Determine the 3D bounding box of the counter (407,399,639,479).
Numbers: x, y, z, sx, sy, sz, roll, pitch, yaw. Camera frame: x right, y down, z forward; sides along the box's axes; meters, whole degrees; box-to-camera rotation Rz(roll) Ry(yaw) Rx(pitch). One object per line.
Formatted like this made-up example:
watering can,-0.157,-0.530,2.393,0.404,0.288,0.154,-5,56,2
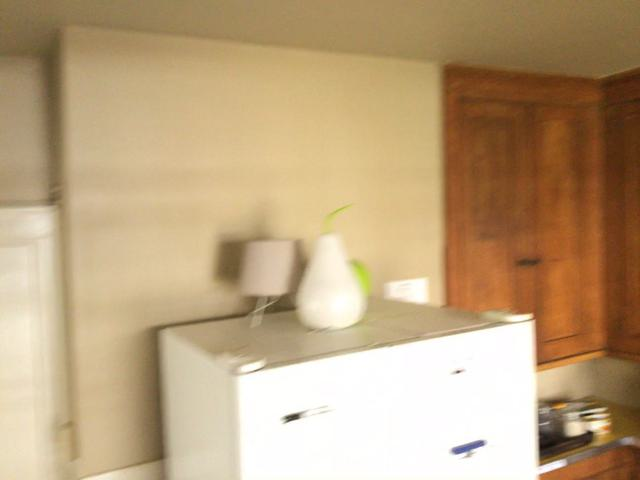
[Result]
counter,1.240,1.060,2.870,1.470,0.170,0.660,-2,0,-25
